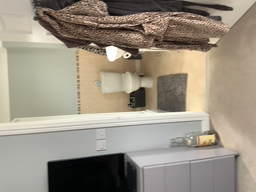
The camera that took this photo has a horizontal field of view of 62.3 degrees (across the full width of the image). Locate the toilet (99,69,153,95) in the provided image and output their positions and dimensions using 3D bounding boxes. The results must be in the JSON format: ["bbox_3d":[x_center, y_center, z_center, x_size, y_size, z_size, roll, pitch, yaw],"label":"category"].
[{"bbox_3d":[-0.050,-0.230,3.580,0.550,0.790,0.390,-176,85,-71],"label":"toilet"}]
